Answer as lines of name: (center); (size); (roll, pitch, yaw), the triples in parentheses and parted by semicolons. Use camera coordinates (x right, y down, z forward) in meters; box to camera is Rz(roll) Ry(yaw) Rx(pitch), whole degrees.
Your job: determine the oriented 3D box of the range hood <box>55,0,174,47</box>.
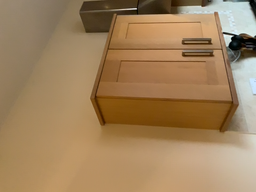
range hood: (-0.060, -0.810, 1.870); (0.460, 0.890, 0.580); (82, -166, -52)
